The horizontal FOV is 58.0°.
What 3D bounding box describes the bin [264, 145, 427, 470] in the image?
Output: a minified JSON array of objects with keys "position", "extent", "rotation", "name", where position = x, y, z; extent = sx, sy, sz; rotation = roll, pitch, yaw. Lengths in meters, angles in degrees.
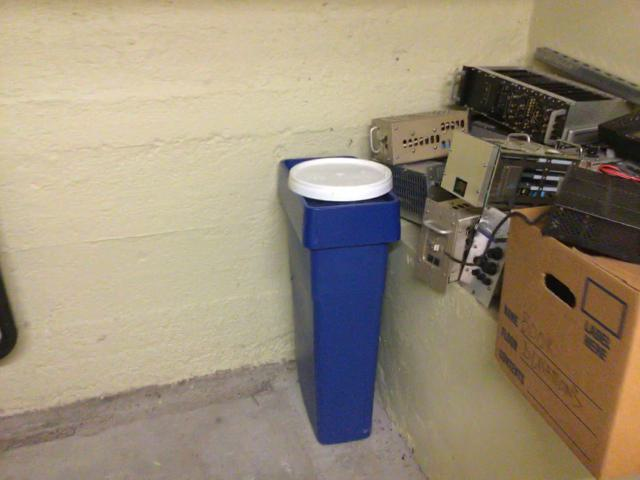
[{"position":[0.050,0.190,1.870],"extent":[0.330,0.870,0.510],"rotation":[-7,23,-16],"name":"bin"}]
